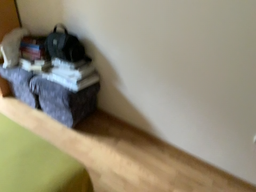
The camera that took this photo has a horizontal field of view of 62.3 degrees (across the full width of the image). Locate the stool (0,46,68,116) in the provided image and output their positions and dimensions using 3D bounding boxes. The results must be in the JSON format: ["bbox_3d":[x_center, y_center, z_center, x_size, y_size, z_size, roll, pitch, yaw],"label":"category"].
[{"bbox_3d":[-0.800,-0.140,1.800,0.370,0.360,0.370,22,41,21],"label":"stool"}]

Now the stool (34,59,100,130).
[{"bbox_3d":[-0.460,-0.020,1.690,0.360,0.360,0.310,22,41,21],"label":"stool"}]
